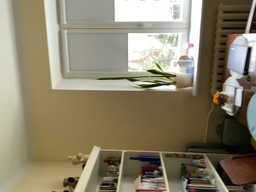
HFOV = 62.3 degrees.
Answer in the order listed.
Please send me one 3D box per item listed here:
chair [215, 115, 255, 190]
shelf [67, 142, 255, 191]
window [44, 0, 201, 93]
[{"bbox_3d":[1.260,0.460,1.770,0.390,0.870,0.470,-78,-11,-75],"label":"chair"},{"bbox_3d":[0.610,0.890,2.140,0.950,2.150,0.410,-76,-13,-77],"label":"shelf"},{"bbox_3d":[-0.080,-0.880,2.770,0.310,1.880,1.610,-78,-11,-75],"label":"window"}]
